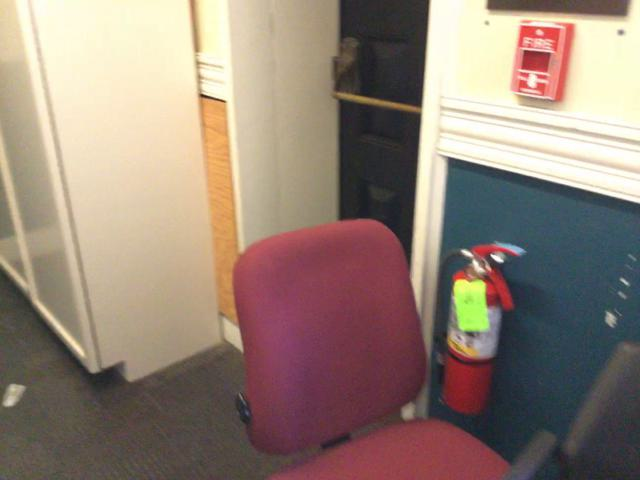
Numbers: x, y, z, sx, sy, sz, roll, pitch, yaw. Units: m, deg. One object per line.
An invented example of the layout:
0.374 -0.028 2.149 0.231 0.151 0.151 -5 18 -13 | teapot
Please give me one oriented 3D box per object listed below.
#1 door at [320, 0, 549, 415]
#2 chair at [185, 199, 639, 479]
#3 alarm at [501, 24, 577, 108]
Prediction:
0.310 -0.310 1.940 0.150 1.690 0.740 -19 30 -38 | door
0.130 0.480 1.170 0.550 0.910 0.630 -12 26 -27 | chair
0.410 -0.330 1.090 0.040 0.140 0.110 -19 30 -38 | alarm
